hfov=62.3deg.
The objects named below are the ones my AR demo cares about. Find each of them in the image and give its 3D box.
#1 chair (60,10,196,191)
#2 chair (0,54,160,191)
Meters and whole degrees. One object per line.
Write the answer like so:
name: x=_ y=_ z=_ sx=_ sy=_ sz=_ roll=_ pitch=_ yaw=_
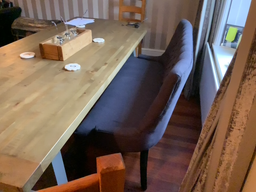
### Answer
chair: x=0.160 y=-0.110 z=1.850 sx=0.650 sy=0.920 sz=1.490 roll=10 pitch=32 yaw=13
chair: x=-0.270 y=0.460 z=0.770 sx=0.490 sy=1.060 sz=0.500 roll=-7 pitch=33 yaw=-15
